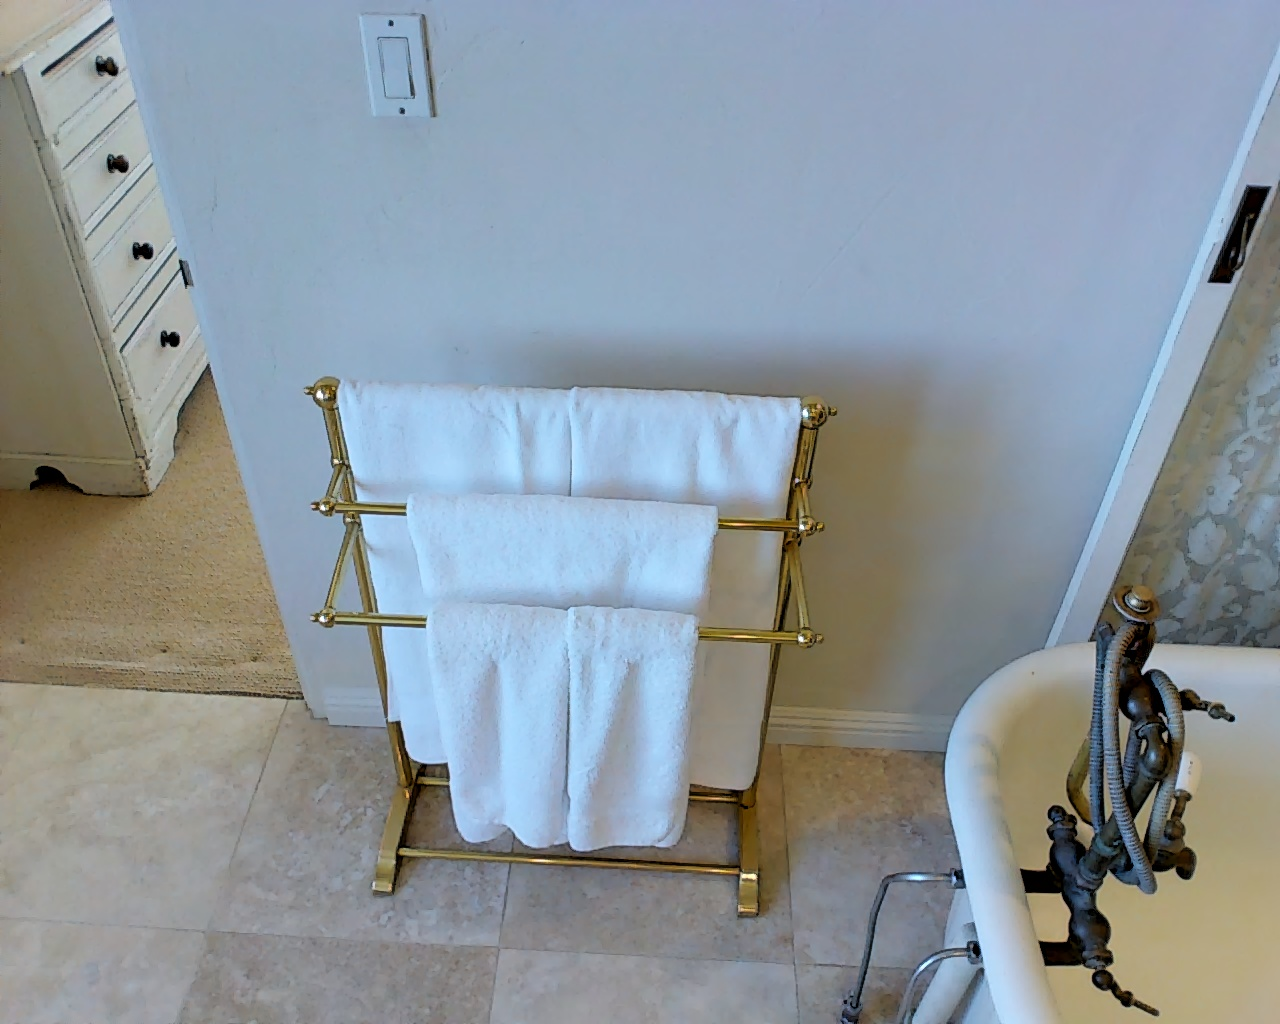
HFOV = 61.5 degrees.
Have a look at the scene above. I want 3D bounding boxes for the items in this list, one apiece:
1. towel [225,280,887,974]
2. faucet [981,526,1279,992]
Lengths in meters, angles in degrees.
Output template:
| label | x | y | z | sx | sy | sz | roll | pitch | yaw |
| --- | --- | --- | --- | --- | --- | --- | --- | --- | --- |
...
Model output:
| label | x | y | z | sx | sy | sz | roll | pitch | yaw |
| --- | --- | --- | --- | --- | --- | --- | --- | --- | --- |
| towel | -0.090 | 0.210 | 1.540 | 0.650 | 0.940 | 0.460 | 1 | 41 | 0 |
| faucet | 0.520 | 0.270 | 1.140 | 0.170 | 0.430 | 0.270 | 3 | 41 | 2 |
